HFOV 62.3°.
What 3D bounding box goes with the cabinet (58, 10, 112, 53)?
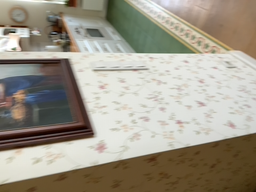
[{"bbox_3d":[-0.860,-1.230,4.100,0.610,0.870,0.580,-122,36,-46],"label":"cabinet"}]
